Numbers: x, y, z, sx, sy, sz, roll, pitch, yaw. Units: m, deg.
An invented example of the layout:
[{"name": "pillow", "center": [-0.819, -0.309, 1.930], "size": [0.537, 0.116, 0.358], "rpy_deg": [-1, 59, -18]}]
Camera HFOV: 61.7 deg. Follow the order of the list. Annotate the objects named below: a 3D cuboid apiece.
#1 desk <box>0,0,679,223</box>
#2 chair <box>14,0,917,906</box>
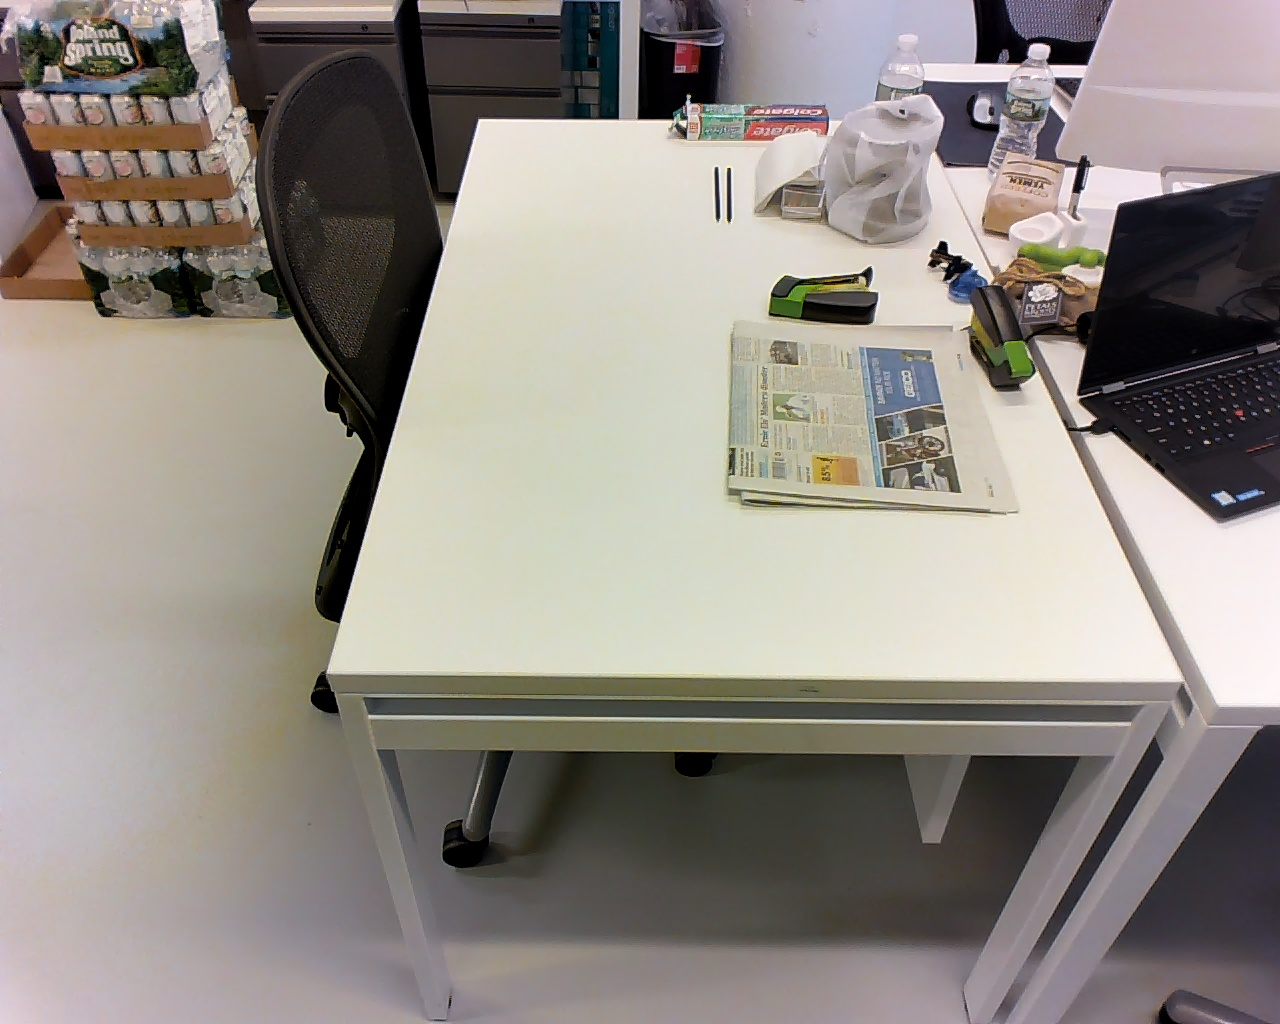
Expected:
[{"name": "desk", "center": [-1.230, -1.380, 3.140], "size": [2.640, 0.740, 0.800], "rpy_deg": [0, 42, -1]}, {"name": "chair", "center": [-0.150, -0.070, 1.500], "size": [0.730, 1.030, 0.770], "rpy_deg": [0, 42, -1]}]
